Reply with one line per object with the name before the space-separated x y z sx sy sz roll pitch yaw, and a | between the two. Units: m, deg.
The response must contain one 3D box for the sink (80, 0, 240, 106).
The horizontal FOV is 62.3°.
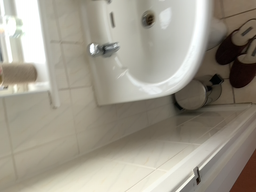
sink | 0.070 -0.280 0.690 0.430 0.200 0.580 -6 94 40
